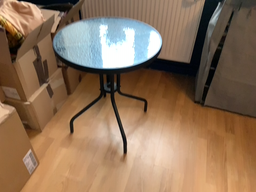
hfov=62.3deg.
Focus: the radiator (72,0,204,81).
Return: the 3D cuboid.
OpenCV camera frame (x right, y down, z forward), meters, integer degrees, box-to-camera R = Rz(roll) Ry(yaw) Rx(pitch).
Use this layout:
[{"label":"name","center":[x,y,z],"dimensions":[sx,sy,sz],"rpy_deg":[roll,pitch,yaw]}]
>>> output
[{"label":"radiator","center":[0.050,-0.600,1.860],"dimensions":[1.050,0.830,0.150],"rpy_deg":[11,42,11]}]
